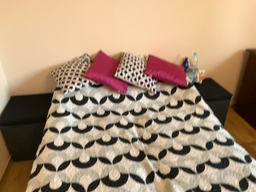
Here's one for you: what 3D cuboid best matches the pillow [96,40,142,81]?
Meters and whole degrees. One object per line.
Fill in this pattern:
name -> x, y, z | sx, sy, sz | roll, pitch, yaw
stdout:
pillow -> -0.090, -0.310, 1.790 | 0.330, 0.220, 0.330 | -5, 30, -9

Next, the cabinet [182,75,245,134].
cabinet -> 0.840, 0.080, 2.180 | 0.400, 0.440, 0.390 | -4, 30, -7

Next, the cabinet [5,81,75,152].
cabinet -> -0.740, 0.170, 1.900 | 0.430, 0.450, 0.400 | -4, 30, -7
